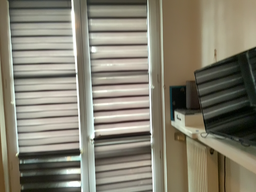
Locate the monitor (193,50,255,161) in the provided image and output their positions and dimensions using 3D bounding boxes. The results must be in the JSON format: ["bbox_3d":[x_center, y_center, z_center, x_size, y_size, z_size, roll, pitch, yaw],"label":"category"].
[{"bbox_3d":[0.560,0.040,1.140,0.110,0.460,0.790,1,0,-5],"label":"monitor"}]
